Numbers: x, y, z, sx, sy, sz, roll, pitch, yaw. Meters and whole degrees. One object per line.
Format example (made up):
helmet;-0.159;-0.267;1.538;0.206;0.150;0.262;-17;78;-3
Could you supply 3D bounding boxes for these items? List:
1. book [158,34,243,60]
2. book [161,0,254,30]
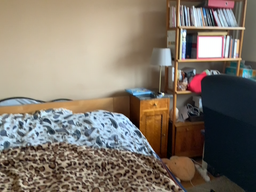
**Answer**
book;0.810;-0.570;2.450;0.800;0.250;0.450;-3;15;-14
book;0.870;-0.890;2.370;0.890;0.260;0.380;-3;15;-15
